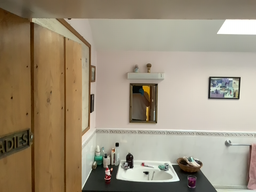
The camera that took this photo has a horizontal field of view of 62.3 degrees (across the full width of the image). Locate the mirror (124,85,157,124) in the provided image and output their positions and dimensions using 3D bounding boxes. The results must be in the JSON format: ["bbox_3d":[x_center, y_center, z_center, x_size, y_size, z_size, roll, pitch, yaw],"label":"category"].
[{"bbox_3d":[0.130,0.090,2.230,0.330,0.400,0.040,1,3,3],"label":"mirror"}]
